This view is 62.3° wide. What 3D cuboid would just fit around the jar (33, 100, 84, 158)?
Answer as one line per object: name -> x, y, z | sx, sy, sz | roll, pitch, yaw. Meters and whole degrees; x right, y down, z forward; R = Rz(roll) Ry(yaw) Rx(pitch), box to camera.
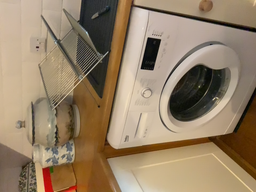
jar -> -0.440, 0.190, 1.310 | 0.250, 0.250, 0.230 | 49, 133, 51
